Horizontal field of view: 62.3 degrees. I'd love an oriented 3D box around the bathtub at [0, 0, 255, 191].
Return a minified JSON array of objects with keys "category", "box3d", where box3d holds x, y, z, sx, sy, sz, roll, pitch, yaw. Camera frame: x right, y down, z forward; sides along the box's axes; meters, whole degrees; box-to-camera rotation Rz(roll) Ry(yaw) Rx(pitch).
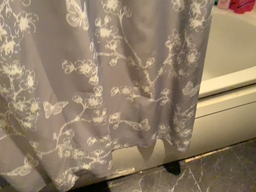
[{"category":"bathtub","box3d":[0.000,0.000,1.250,1.680,0.580,0.720,-15,48,-10]}]
